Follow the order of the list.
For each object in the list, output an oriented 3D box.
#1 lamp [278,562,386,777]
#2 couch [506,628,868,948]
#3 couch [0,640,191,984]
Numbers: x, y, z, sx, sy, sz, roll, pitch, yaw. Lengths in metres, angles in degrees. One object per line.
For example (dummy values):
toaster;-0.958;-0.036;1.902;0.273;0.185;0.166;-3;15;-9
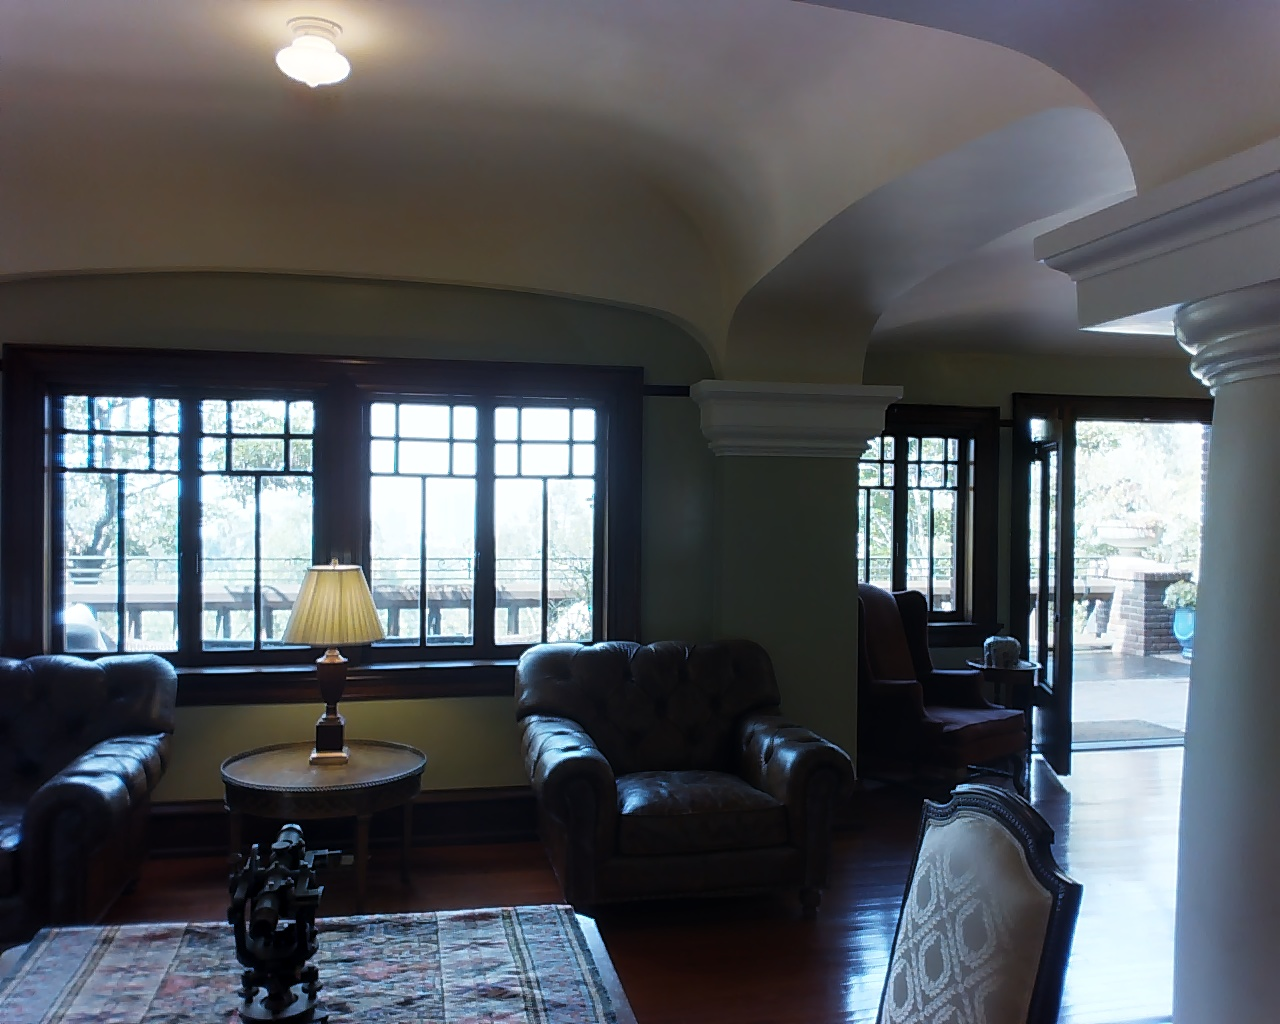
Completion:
lamp;-1.230;0.610;4.350;0.390;0.790;0.440;0;0;-13
couch;0.120;1.040;4.470;1.220;0.960;1.200;0;0;-13
couch;-2.400;1.010;3.910;1.220;0.910;1.260;0;0;-13
